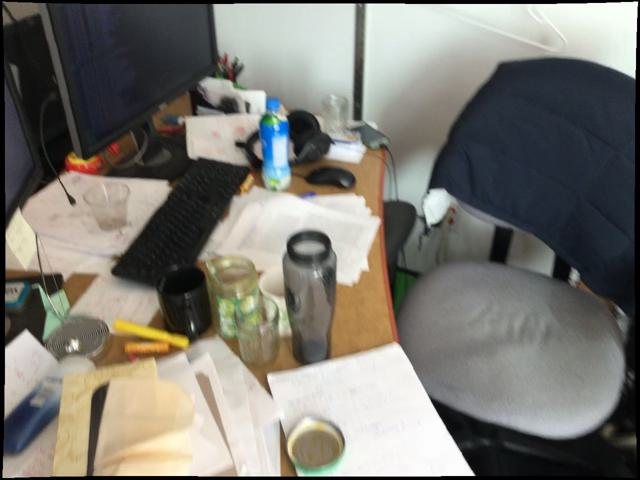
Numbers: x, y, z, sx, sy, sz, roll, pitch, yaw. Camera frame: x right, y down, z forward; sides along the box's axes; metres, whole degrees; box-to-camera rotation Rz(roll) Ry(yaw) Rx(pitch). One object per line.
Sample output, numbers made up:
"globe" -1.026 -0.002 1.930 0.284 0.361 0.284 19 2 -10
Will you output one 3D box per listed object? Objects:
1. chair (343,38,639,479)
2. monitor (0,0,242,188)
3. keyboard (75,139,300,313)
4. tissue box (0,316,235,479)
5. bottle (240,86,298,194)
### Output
"chair" 0.460 0.170 1.370 0.580 1.011 0.660 16 41 19
"monitor" -0.370 -0.400 1.200 0.150 0.360 0.500 16 41 19
"keyboard" -0.250 -0.060 1.230 0.210 0.050 0.510 16 41 19
"tissue box" -0.280 0.250 0.730 0.240 0.090 0.240 -29 47 -32
"bottle" -0.110 -0.220 1.290 0.090 0.210 0.080 16 40 19
